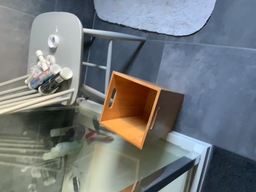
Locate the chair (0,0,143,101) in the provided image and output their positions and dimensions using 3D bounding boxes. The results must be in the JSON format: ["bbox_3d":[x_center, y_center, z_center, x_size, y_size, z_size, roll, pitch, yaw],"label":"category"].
[{"bbox_3d":[-0.370,-0.210,0.990,0.420,0.850,0.370,15,97,37],"label":"chair"}]
